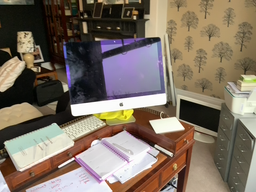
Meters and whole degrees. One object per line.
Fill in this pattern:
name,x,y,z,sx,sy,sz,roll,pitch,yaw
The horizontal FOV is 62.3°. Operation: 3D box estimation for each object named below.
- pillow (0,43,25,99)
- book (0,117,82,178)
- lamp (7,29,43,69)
pillow,-1.790,-0.360,3.150,0.230,0.560,0.570,-23,70,-39
book,-0.420,0.220,1.010,0.270,0.060,0.290,19,30,39
lamp,-1.860,-0.870,3.850,0.380,0.630,0.350,19,30,40
